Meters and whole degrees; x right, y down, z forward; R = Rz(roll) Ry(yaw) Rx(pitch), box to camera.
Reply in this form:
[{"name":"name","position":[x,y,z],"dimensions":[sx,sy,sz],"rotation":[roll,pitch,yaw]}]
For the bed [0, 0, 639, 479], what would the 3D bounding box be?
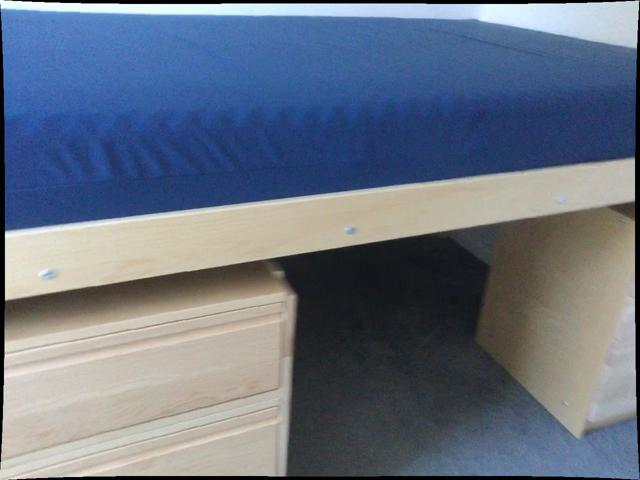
[{"name":"bed","position":[0.010,-0.070,1.790],"dimensions":[2.237,1.172,1.690],"rotation":[-9,30,-23]}]
